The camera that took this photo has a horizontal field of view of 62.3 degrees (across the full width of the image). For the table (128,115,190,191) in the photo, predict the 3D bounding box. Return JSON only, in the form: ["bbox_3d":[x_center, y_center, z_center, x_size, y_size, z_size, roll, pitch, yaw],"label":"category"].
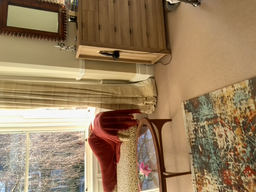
[{"bbox_3d":[0.350,0.920,2.560,0.700,0.390,1.320,157,113,-64],"label":"table"}]
